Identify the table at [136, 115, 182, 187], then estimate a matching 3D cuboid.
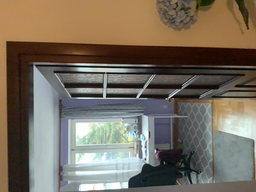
[{"bbox_3d":[0.620,1.080,4.450,0.670,0.760,1.330,163,107,-80],"label":"table"}]
